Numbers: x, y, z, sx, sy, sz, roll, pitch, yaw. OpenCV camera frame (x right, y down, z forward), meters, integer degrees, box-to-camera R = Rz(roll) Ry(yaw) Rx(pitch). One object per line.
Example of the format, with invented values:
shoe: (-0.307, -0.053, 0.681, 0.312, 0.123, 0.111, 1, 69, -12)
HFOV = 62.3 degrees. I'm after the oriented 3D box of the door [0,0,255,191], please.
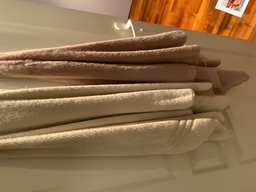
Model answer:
door: (0.080, 0.040, 0.840, 0.130, 2.080, 1.000, -42, 54, 56)
